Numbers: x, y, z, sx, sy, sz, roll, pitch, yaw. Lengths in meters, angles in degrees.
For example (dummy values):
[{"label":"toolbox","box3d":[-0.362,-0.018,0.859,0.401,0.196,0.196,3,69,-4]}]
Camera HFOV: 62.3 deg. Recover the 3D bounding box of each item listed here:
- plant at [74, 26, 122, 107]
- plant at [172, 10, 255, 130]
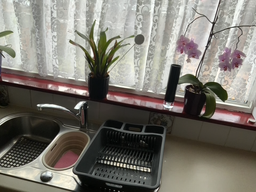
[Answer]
[{"label":"plant","box3d":[-0.180,-0.170,1.240,0.230,0.420,0.150,8,24,2]},{"label":"plant","box3d":[0.420,-0.130,1.120,0.260,0.570,0.190,9,24,4]}]
